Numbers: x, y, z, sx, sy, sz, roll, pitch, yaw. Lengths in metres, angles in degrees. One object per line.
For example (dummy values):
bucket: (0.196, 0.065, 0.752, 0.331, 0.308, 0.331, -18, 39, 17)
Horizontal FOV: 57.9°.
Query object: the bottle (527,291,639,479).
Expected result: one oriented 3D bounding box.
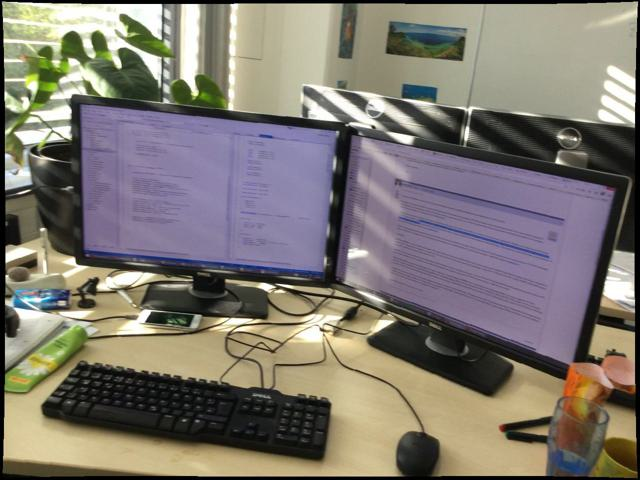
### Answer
bottle: (0.450, 0.230, 0.900, 0.190, 0.250, 0.090, 12, 21, 14)
